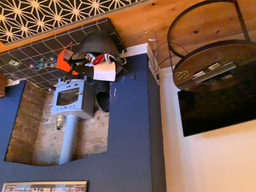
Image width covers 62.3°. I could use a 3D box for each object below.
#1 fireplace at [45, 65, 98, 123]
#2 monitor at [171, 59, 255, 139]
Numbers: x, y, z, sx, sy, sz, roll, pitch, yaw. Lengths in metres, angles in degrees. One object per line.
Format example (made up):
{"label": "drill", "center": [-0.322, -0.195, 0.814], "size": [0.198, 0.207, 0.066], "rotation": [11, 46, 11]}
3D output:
{"label": "fireplace", "center": [-0.640, -0.010, 2.500], "size": [0.420, 0.510, 0.350], "rotation": [-11, 151, 19]}
{"label": "monitor", "center": [0.710, 0.040, 1.630], "size": [0.070, 0.400, 0.860], "rotation": [21, 146, -36]}
